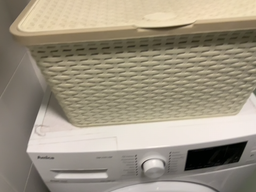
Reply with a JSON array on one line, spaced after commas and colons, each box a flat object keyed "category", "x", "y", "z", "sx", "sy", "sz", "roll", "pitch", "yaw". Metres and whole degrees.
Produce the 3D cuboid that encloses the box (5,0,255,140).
[{"category": "box", "x": 0.050, "y": -0.160, "z": 0.590, "sx": 0.500, "sy": 0.290, "sz": 0.430, "roll": -4, "pitch": 43, "yaw": -1}]
